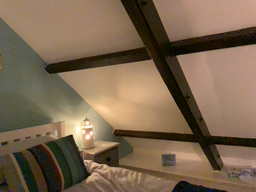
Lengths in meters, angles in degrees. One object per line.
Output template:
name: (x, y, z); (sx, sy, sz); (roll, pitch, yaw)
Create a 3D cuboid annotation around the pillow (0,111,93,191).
pillow: (-0.540, 0.460, 1.450); (0.180, 0.390, 0.600); (-3, 46, 34)
